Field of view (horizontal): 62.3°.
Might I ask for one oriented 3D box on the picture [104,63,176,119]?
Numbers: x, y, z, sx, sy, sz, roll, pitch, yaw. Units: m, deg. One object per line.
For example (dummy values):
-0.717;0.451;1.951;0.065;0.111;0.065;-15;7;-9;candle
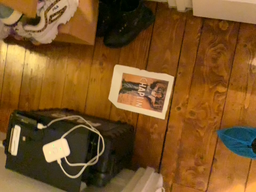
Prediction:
0.050;-0.030;1.010;0.310;0.030;0.210;11;94;17;picture
